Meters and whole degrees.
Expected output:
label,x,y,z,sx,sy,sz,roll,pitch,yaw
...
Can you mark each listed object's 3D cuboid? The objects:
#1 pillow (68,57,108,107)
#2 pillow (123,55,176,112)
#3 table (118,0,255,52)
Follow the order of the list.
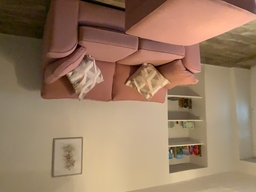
label,x,y,z,sx,sy,sz,roll,pitch,yaw
pillow,-0.480,-0.190,2.680,0.180,0.450,0.500,-26,-159,13
pillow,0.280,-0.170,3.030,0.200,0.590,0.520,9,-145,-47
table,0.470,-0.770,1.890,0.850,0.440,0.830,3,175,-28
